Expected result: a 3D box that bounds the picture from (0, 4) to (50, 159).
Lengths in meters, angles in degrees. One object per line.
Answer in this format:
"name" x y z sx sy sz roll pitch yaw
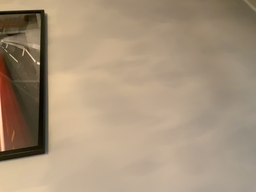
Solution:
"picture" -0.720 -0.160 0.990 0.040 0.660 1.010 100 159 -49
